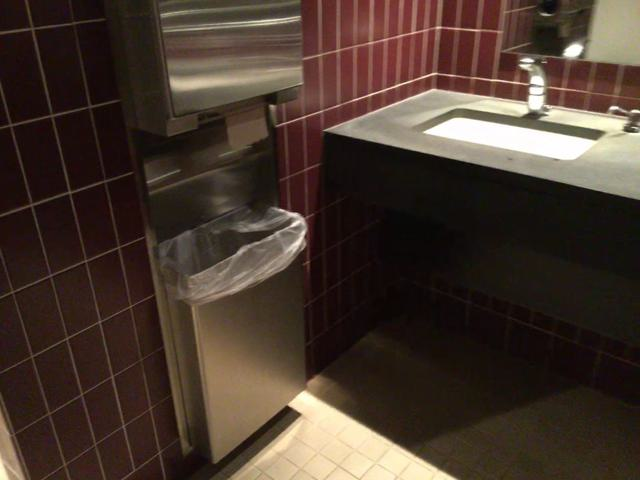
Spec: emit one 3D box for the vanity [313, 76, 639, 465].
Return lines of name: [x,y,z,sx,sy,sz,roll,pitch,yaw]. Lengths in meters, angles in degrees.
vanity: [0.820,0.070,1.530,1.660,0.710,0.600,19,34,35]
